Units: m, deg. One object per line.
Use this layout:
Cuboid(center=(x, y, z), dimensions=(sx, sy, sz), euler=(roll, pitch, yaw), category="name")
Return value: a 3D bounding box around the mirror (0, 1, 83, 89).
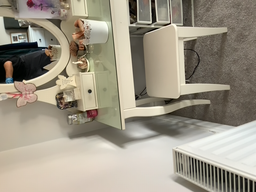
Cuboid(center=(-0.700, -0.290, 1.230), dimensions=(0.100, 0.820, 0.480), euler=(-7, 91, 59), category="mirror")
